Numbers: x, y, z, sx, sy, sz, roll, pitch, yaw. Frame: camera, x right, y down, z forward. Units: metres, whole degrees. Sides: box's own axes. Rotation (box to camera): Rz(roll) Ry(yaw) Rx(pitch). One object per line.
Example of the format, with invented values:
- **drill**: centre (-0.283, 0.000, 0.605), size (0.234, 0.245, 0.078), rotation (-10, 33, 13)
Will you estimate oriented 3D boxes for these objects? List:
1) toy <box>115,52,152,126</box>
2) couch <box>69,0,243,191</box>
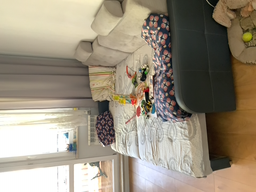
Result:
- **toy**: centre (0.040, -0.040, 2.530), size (0.660, 0.140, 0.780), rotation (164, 105, -65)
- **couch**: centre (-0.030, 0.050, 2.540), size (2.240, 0.980, 1.490), rotation (166, 103, -65)
